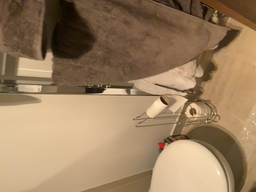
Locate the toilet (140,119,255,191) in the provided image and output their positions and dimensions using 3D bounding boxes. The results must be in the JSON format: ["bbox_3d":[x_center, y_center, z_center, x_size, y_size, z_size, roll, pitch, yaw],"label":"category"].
[{"bbox_3d":[0.340,0.440,1.050,0.360,0.340,0.520,35,116,44],"label":"toilet"}]

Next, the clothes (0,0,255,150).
[{"bbox_3d":[-0.300,-0.190,0.480,0.280,1.930,0.560,37,117,43],"label":"clothes"}]
